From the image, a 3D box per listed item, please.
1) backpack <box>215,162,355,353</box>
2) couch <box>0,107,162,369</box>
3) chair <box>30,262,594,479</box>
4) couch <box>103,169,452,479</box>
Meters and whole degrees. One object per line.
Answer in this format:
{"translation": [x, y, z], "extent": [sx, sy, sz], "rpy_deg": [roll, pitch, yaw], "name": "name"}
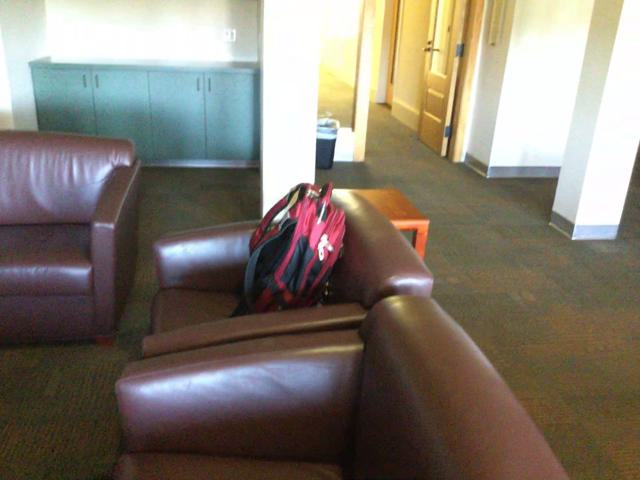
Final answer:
{"translation": [-0.110, 0.030, 1.710], "extent": [0.360, 0.470, 0.350], "rpy_deg": [-3, 14, -8], "name": "backpack"}
{"translation": [-1.440, -0.030, 2.280], "extent": [1.470, 0.780, 0.800], "rpy_deg": [-4, 25, -11], "name": "couch"}
{"translation": [-0.040, 0.580, 1.100], "extent": [0.750, 0.740, 0.830], "rpy_deg": [-3, 25, -8], "name": "chair"}
{"translation": [-0.170, 0.280, 1.820], "extent": [0.790, 0.740, 0.840], "rpy_deg": [-5, 25, -12], "name": "couch"}
